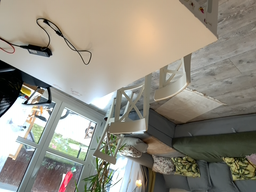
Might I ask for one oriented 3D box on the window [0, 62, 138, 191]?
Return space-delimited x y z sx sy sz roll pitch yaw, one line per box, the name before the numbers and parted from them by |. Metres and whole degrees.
window | -1.170 1.370 3.340 2.710 2.920 0.220 32 148 -30
